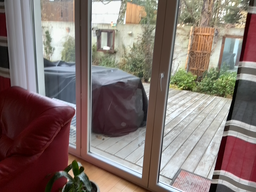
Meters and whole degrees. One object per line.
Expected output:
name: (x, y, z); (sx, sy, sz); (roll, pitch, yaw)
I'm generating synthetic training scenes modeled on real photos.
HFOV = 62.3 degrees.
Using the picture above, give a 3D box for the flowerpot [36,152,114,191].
flowerpot: (-0.380, 0.770, 1.570); (0.320, 0.480, 0.430); (16, 20, 34)
